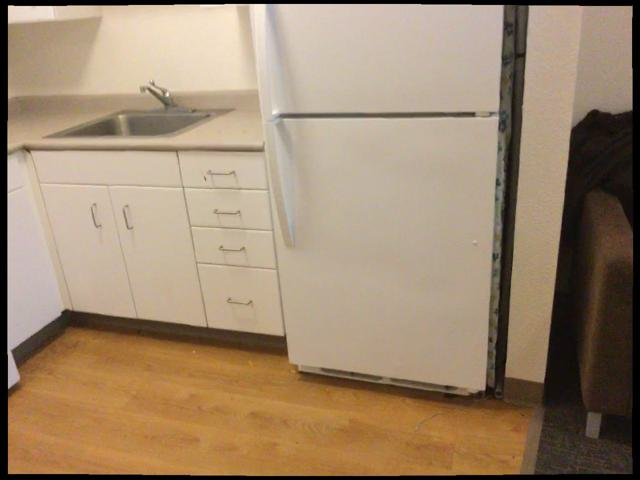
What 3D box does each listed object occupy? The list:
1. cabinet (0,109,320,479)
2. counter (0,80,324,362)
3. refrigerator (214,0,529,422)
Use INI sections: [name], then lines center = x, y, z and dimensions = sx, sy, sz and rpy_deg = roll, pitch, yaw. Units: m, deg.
[cabinet]
center = -1.148, 0.200, 2.130
dimensions = 1.667, 0.901, 2.010
rpy_deg = 4, 26, 19
[counter]
center = -1.198, -0.250, 1.980
dimensions = 1.837, 0.170, 2.090
rpy_deg = 4, 26, 19
[refrigerator]
center = 0.240, -0.230, 2.040
dimensions = 0.849, 1.532, 0.600
rpy_deg = 5, 26, 20
